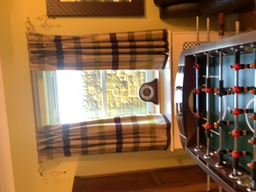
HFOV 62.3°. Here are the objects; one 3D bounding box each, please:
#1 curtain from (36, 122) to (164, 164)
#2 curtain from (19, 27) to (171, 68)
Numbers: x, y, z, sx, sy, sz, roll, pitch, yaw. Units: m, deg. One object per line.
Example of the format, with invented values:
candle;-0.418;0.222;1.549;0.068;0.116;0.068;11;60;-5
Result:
curtain;-0.250;0.460;2.140;0.130;1.240;0.280;-152;60;-79
curtain;-0.260;-0.450;1.970;0.110;1.340;0.340;-152;60;-79
